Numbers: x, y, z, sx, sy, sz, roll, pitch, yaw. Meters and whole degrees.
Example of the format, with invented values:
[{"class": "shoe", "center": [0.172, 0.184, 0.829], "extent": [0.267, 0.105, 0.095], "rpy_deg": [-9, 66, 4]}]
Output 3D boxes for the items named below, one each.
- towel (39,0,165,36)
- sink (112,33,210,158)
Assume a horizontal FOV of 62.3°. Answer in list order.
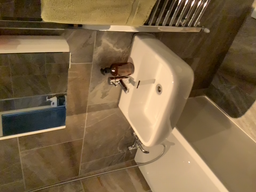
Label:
[{"class": "towel", "center": [-0.090, -0.390, 0.870], "extent": [0.110, 0.500, 0.250], "rpy_deg": [56, 142, 40]}, {"class": "sink", "center": [0.130, -0.010, 1.200], "extent": [0.420, 0.210, 0.540], "rpy_deg": [55, 142, 41]}]
